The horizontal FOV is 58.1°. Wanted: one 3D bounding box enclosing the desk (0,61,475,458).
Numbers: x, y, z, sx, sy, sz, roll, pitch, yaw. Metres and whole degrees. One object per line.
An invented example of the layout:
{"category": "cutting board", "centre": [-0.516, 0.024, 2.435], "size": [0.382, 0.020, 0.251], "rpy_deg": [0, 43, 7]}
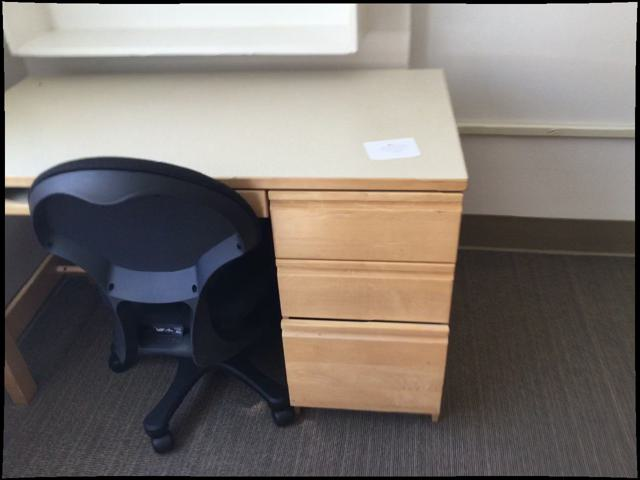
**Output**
{"category": "desk", "centre": [-0.329, 0.010, 1.680], "size": [1.377, 0.811, 0.711], "rpy_deg": [3, 36, 8]}

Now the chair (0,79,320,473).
{"category": "chair", "centre": [-0.379, 0.100, 1.490], "size": [0.668, 0.871, 0.480], "rpy_deg": [3, 36, 8]}
